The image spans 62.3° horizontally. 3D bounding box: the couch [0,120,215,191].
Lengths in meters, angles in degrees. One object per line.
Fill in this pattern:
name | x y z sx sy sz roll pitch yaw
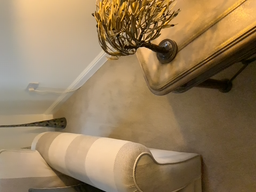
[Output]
couch | -0.220 0.750 1.250 1.090 0.930 1.110 -3 87 45
